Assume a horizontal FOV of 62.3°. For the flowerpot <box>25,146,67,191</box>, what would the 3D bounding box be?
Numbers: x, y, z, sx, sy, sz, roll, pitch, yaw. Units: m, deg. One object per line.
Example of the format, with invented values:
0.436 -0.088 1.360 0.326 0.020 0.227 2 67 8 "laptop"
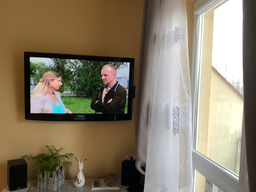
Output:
-0.840 0.760 2.210 0.340 0.390 0.330 2 2 -10 "flowerpot"
